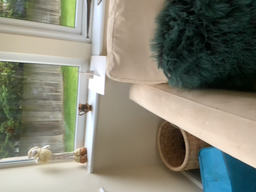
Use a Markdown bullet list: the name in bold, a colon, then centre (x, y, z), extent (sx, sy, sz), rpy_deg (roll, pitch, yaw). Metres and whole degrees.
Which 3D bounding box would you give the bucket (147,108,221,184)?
- **bucket**: centre (0.390, 0.340, 1.570), extent (0.360, 0.310, 0.410), rpy_deg (27, 113, 61)
